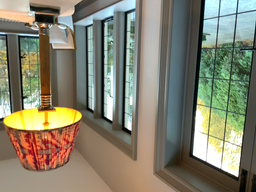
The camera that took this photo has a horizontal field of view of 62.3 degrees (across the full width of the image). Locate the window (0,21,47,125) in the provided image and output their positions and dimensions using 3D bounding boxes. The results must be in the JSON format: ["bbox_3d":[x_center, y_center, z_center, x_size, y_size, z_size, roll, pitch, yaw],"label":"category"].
[{"bbox_3d":[-2.790,-0.370,3.660,2.580,1.880,0.160,-4,-169,-32],"label":"window"}]
